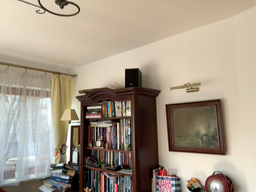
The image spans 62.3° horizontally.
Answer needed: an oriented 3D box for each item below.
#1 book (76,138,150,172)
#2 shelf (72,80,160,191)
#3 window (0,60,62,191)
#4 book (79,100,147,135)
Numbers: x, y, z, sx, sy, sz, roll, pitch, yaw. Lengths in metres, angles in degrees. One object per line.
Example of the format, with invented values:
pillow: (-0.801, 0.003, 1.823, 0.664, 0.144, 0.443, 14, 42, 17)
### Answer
book: (-0.210, 0.670, 2.530, 0.940, 0.280, 0.300, -7, -9, 40)
shelf: (-0.180, 0.930, 2.480, 1.010, 2.060, 0.430, -7, -9, 41)
window: (-1.680, 0.370, 2.590, 0.250, 1.630, 1.800, -6, -9, 39)
book: (-0.210, 0.270, 2.570, 0.870, 0.350, 0.280, -7, -9, 40)
